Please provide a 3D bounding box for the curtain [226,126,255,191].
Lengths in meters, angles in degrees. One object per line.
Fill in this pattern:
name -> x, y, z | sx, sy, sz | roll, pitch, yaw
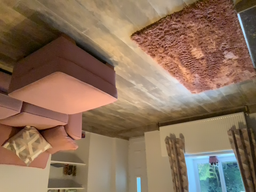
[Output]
curtain -> 1.960, 1.450, 3.220 | 0.460, 1.900, 0.340 | -16, 154, 31
